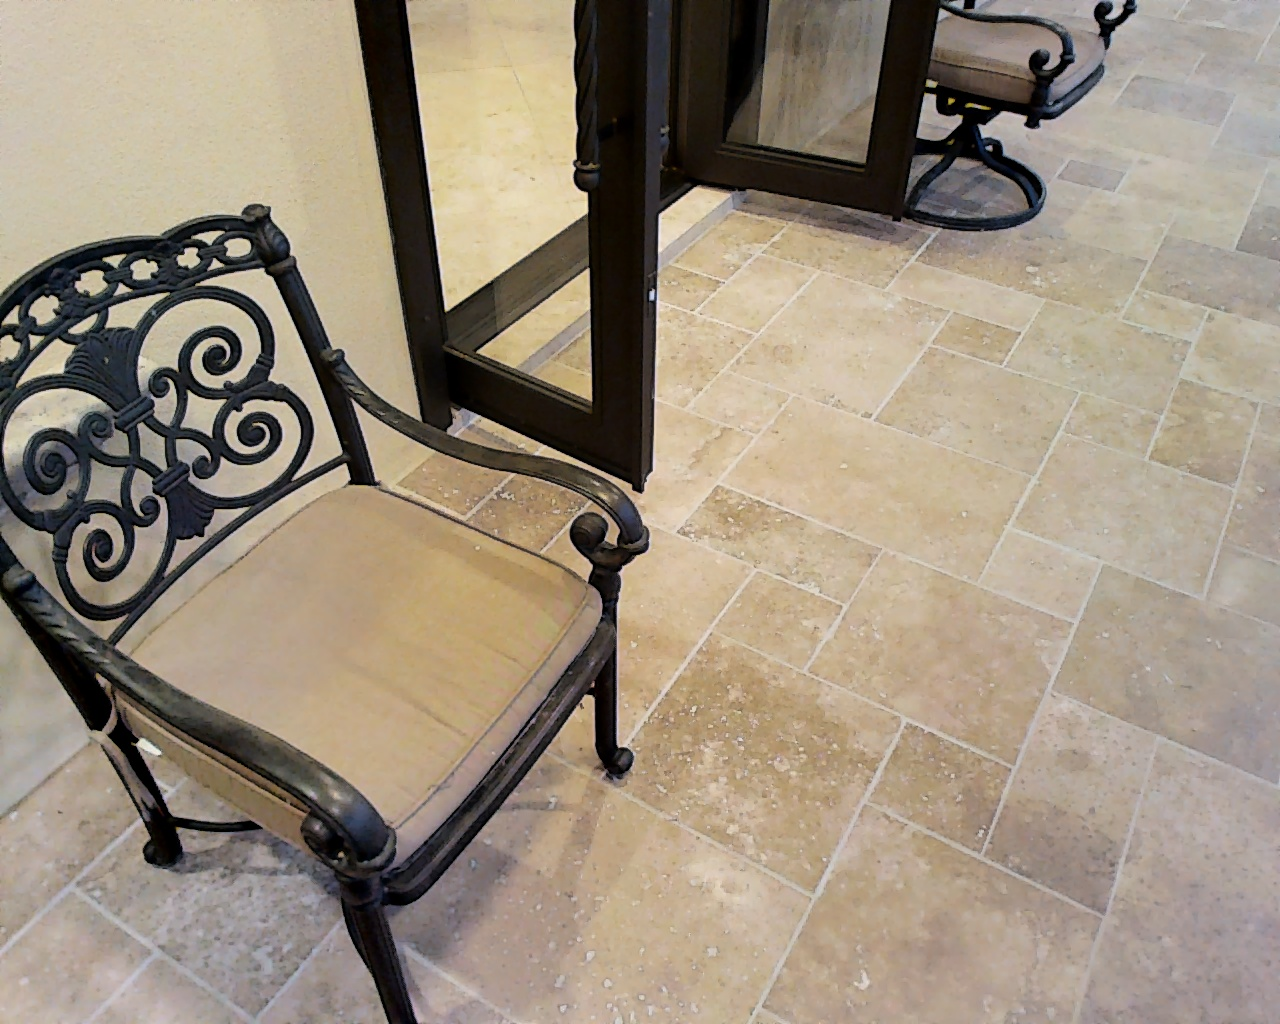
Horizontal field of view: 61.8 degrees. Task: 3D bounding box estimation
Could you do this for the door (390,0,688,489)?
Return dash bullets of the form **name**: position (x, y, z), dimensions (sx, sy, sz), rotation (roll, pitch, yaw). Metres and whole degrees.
- **door**: position (-0.180, -1.060, 1.640), dimensions (0.530, 2.379, 0.130), rotation (23, 47, 22)
